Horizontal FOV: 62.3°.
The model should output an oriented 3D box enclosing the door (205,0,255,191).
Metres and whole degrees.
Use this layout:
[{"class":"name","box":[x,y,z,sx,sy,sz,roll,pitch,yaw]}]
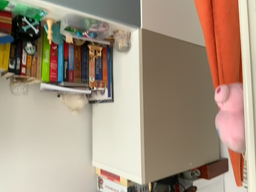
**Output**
[{"class":"door","box":[0.440,-0.640,0.850,0.130,2.090,0.900,-2,178,29]}]
